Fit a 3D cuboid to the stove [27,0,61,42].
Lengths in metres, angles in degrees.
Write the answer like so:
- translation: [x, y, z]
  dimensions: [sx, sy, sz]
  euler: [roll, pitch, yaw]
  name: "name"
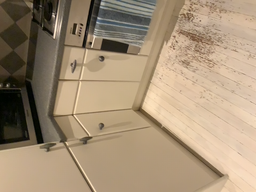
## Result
- translation: [-0.510, -0.710, 1.300]
  dimensions: [0.560, 0.020, 0.590]
  euler: [40, 121, 42]
  name: "stove"
